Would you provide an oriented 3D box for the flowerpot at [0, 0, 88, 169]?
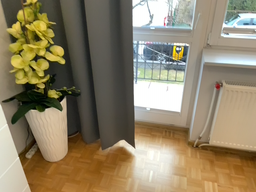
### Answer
[{"bbox_3d":[-0.660,-0.080,1.750,0.400,1.370,0.450,4,30,7],"label":"flowerpot"}]
